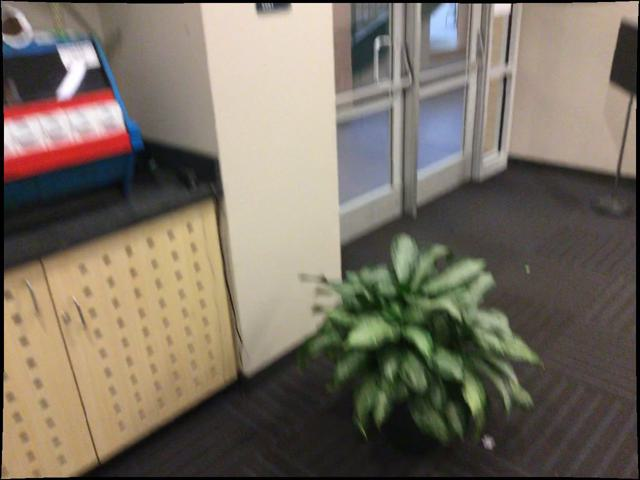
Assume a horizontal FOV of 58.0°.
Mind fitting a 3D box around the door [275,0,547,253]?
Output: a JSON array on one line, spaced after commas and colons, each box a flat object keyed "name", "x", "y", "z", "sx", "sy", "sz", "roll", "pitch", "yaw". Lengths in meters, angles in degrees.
[{"name": "door", "x": 0.678, "y": -1.524, "z": 3.390, "sx": 2.208, "sy": 2.575, "sz": 0.330, "roll": -28, "pitch": 35, "yaw": -37}]

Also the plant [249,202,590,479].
[{"name": "plant", "x": 0.309, "y": 0.361, "z": 1.890, "sx": 0.659, "sy": 0.621, "sz": 0.779, "roll": -28, "pitch": 35, "yaw": -37}]

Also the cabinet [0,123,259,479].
[{"name": "cabinet", "x": -0.908, "y": 0.281, "z": 1.890, "sx": 1.199, "sy": 0.972, "sz": 0.560, "roll": -26, "pitch": 34, "yaw": -35}]
